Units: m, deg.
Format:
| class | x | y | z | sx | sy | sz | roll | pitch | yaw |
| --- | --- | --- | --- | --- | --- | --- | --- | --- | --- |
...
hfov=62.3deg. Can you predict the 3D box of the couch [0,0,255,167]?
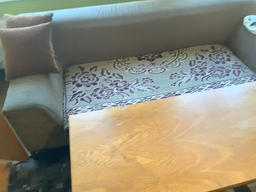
| class | x | y | z | sx | sy | sz | roll | pitch | yaw |
| --- | --- | --- | --- | --- | --- | --- | --- | --- | --- |
| couch | 0.190 | -0.310 | 1.910 | 2.260 | 0.770 | 1.110 | -10 | 44 | -9 |
